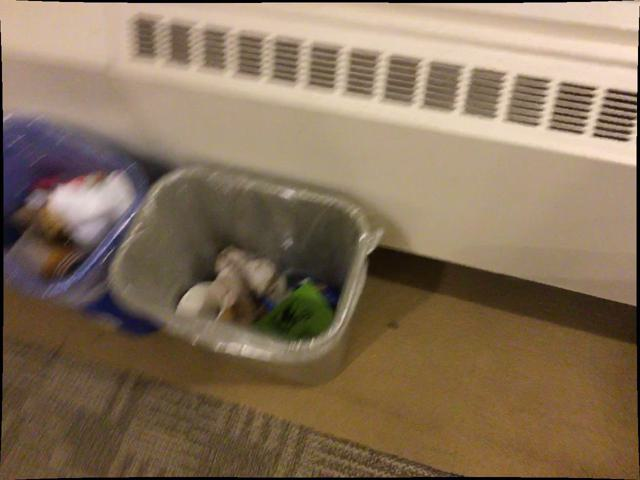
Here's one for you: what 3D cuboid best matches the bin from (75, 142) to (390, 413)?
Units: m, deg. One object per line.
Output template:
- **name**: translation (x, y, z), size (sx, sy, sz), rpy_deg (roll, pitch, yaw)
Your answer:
- **bin**: translation (-0.110, 0.080, 1.040), size (0.420, 0.360, 0.300), rpy_deg (10, 64, 12)
